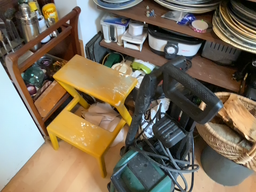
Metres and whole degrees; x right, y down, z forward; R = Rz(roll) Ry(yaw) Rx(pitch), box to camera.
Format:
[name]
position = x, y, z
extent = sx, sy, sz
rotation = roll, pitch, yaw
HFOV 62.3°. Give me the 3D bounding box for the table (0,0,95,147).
[table]
position = -0.650, -0.190, 1.290
extent = 0.690, 0.710, 0.460
rotation = 22, 52, 16
